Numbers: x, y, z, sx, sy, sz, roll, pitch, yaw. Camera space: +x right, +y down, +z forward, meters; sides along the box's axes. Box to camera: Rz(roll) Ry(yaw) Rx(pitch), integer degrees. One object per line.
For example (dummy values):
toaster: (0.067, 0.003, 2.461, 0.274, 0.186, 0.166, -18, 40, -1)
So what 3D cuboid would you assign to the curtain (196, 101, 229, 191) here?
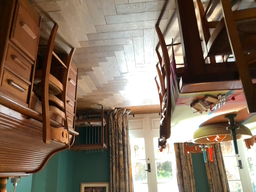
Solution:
curtain: (1.530, 1.160, 3.760, 0.270, 2.210, 0.140, -4, 161, 2)

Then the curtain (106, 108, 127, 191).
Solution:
curtain: (-0.210, 1.290, 3.880, 0.330, 2.160, 0.180, -5, 161, 5)

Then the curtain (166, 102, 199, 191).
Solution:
curtain: (0.980, 1.210, 3.740, 0.350, 2.250, 0.190, -4, 161, 2)

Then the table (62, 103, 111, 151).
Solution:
table: (-0.750, 0.610, 4.000, 0.740, 0.760, 0.590, -5, 161, 7)
